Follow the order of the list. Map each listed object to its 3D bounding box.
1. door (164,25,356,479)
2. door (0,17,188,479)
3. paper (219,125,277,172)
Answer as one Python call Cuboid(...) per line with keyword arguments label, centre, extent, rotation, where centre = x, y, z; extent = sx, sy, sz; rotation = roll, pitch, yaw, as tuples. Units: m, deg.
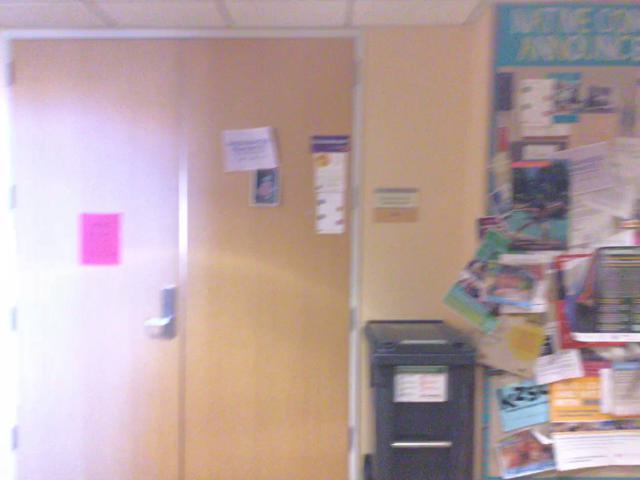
Cuboid(label="door", centre=(-0.310, 0.100, 2.950), extent=(0.940, 2.300, 0.150), rotation=(1, 3, 3))
Cuboid(label="door", centre=(-1.130, 0.090, 2.950), extent=(0.840, 2.310, 0.250), rotation=(0, 3, -3))
Cuboid(label="paper", centre=(-0.360, -0.460, 2.910), extent=(0.270, 0.220, 0.090), rotation=(1, -3, 2))
